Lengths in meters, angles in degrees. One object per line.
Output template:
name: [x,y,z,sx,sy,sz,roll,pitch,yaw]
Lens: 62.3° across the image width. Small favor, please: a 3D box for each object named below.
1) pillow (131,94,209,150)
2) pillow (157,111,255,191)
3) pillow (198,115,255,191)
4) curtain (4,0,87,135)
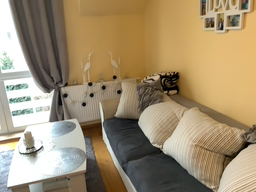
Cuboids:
pillow: [0.430,0.250,2.410,0.620,0.320,0.670,-7,18,-14]
pillow: [0.650,0.420,1.820,0.540,0.310,0.680,-5,18,-18]
pillow: [0.770,0.500,1.280,0.400,0.300,0.740,26,46,35]
curtain: [-1.130,-0.630,2.990,0.810,2.330,0.270,-8,18,-17]
